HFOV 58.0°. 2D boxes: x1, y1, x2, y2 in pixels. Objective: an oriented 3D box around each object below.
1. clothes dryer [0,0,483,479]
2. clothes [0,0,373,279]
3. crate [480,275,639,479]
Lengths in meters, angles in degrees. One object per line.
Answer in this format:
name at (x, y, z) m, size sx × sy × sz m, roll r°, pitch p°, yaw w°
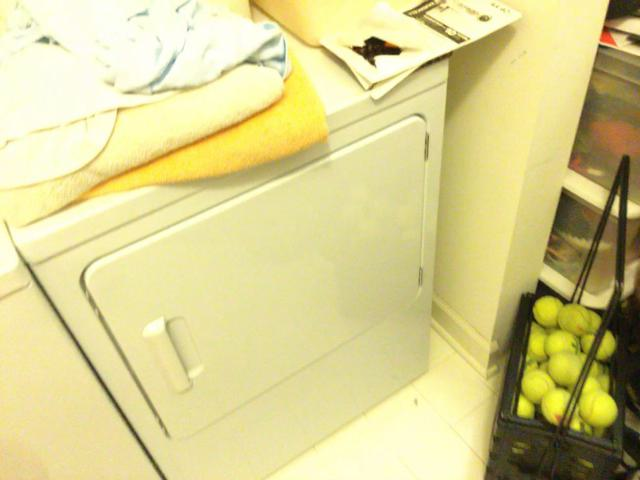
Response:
clothes dryer at (-0.200, -0.050, 1.230) m, size 0.700 × 1.060 × 0.670 m, roll -28°, pitch 48°, yaw -21°
clothes at (-0.250, -0.240, 0.780) m, size 0.510 × 0.190 × 0.380 m, roll -28°, pitch 48°, yaw -21°
crate at (0.510, 0.340, 1.230) m, size 0.240 × 0.350 × 0.340 m, roll 12°, pitch 48°, yaw 17°
